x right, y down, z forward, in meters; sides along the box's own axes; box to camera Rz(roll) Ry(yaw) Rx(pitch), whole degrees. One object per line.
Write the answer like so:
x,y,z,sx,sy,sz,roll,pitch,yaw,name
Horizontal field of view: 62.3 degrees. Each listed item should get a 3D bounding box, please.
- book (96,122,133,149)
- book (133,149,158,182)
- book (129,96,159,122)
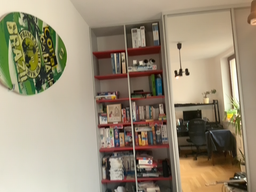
-0.190,0.570,3.100,0.500,0.340,0.220,-4,-2,0,book
0.250,0.990,3.040,0.320,0.350,0.340,-4,-2,4,book
0.240,0.190,3.190,0.410,0.350,0.330,-4,-2,4,book
